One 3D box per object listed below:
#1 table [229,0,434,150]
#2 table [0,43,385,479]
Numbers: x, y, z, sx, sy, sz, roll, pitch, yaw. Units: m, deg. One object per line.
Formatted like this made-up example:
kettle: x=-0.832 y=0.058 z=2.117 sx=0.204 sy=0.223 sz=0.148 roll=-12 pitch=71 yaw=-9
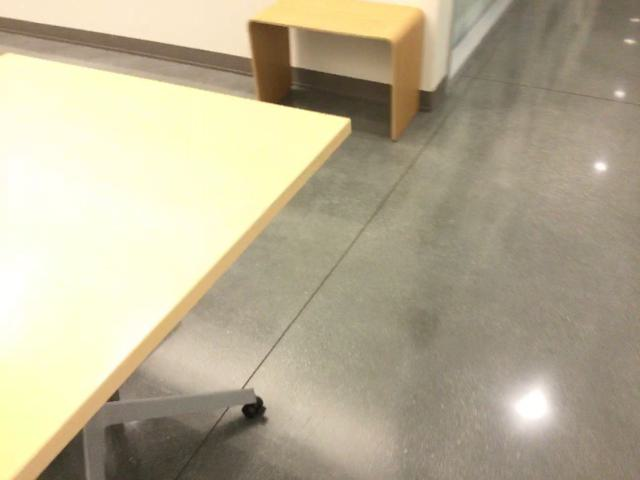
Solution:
table: x=0.060 y=-0.760 z=2.540 sx=0.770 sy=0.500 sz=0.360 roll=13 pitch=41 yaw=22
table: x=-0.470 y=0.190 z=1.130 sx=0.880 sy=0.730 sz=0.870 roll=17 pitch=42 yaw=20
